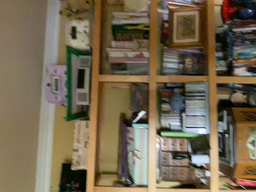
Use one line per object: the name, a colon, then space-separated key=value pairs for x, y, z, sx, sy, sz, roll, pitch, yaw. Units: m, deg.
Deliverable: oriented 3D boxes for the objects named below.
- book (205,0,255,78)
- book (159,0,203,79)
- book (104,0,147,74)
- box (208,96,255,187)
book: x=0.780 y=-0.550 z=1.580 sx=0.260 sy=0.300 sz=0.780 roll=84 pitch=-173 yaw=-81
book: x=0.380 y=-0.510 z=1.580 sx=0.240 sy=0.260 sz=0.720 roll=83 pitch=-172 yaw=-81
book: x=-0.010 y=-0.530 z=1.600 sx=0.260 sy=0.290 sz=0.680 roll=81 pitch=-169 yaw=-84
box: x=0.770 y=0.310 z=1.520 sx=0.230 sy=0.290 sz=0.590 roll=83 pitch=-172 yaw=-81
